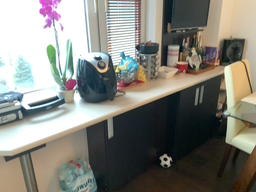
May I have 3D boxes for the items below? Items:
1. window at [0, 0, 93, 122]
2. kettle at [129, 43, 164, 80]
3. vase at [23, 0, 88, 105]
[{"bbox_3d":[-0.650,-0.590,1.320,0.770,1.430,0.180,-16,26,-35],"label":"window"},{"bbox_3d":[0.160,-0.320,1.930,0.210,0.270,0.230,-16,26,-35],"label":"kettle"},{"bbox_3d":[-0.490,-0.320,1.460,0.220,0.650,0.380,-17,27,-37],"label":"vase"}]
